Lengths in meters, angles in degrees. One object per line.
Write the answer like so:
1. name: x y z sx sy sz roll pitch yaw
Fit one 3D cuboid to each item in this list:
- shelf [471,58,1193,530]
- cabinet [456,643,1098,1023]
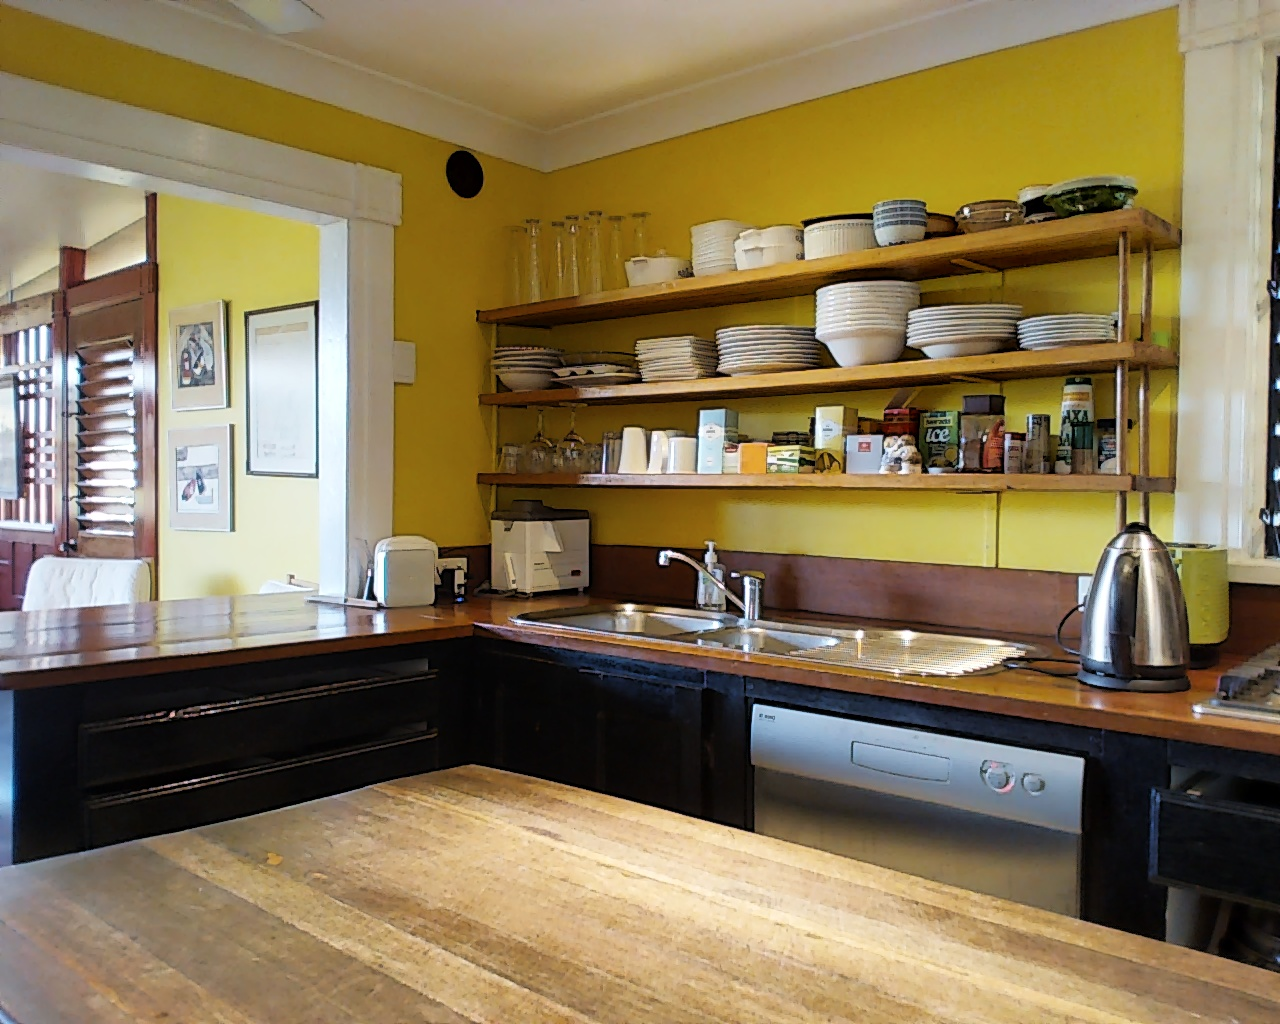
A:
1. shelf: 0.310 -0.410 2.680 1.870 0.850 0.320 1 2 41
2. cabinet: 0.130 0.770 2.080 1.430 0.890 0.070 1 2 41
